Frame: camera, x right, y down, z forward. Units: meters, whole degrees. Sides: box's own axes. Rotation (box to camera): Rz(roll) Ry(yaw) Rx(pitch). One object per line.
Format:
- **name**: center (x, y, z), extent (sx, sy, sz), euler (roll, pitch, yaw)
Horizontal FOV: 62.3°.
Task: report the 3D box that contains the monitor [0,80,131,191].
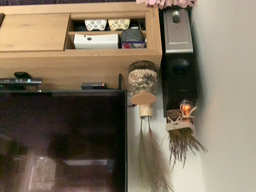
- **monitor**: center (-0.520, 0.230, 1.270), extent (1.060, 0.680, 0.120), euler (-1, 154, 0)
